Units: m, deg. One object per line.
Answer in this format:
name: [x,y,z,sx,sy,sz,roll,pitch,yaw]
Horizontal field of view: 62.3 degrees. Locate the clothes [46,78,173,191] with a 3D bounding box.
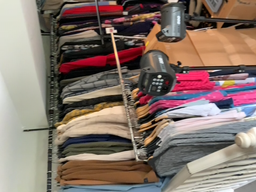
clothes: [-0.250,0.480,1.870,0.780,0.800,0.970,112,151,-56]
